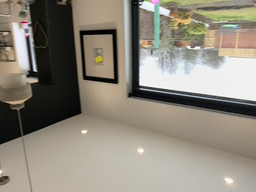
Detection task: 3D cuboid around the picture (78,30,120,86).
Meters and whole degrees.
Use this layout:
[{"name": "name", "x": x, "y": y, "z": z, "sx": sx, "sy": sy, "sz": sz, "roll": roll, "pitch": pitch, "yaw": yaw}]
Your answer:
[{"name": "picture", "x": -0.420, "y": -0.540, "z": 3.000, "sx": 0.690, "sy": 0.730, "sz": 0.070, "roll": 10, "pitch": -161, "yaw": 34}]
